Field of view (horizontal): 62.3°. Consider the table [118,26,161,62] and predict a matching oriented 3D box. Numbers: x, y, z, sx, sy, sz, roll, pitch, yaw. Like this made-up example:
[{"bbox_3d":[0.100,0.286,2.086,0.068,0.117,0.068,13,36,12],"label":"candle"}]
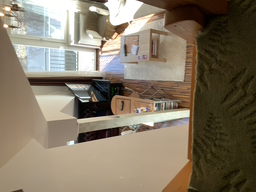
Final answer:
[{"bbox_3d":[0.210,-1.020,4.300,0.850,0.400,0.590,8,98,51],"label":"table"}]
